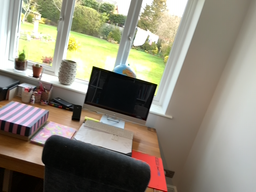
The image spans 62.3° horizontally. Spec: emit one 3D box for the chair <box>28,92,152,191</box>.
[{"bbox_3d":[-0.240,0.640,1.240,0.430,1.110,0.680,17,17,1],"label":"chair"}]
